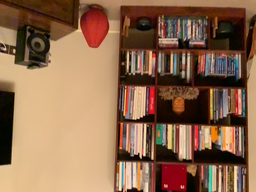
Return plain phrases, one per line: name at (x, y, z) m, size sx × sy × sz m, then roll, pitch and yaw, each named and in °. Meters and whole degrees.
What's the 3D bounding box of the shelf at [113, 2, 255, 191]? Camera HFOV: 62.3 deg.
shelf at (0.560, 0.060, 2.120) m, size 1.330 × 1.870 × 0.380 m, roll 1°, pitch 176°, yaw 3°
